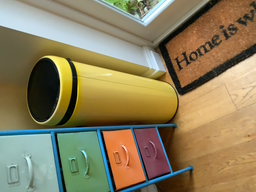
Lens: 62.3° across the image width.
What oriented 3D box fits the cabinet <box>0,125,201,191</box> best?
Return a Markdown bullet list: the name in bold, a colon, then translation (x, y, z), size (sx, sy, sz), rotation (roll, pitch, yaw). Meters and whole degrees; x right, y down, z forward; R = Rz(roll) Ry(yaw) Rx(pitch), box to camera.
- **cabinet**: translation (-0.170, 0.350, 0.940), size (0.360, 1.260, 0.300), rotation (-36, 62, 35)
